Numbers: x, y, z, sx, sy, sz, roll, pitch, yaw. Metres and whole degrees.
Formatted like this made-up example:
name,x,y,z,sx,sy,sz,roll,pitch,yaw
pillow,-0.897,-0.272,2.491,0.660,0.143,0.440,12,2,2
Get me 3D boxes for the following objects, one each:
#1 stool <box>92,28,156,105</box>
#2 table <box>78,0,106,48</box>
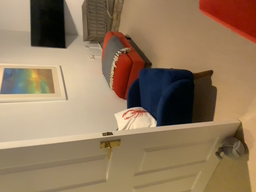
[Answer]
name,x,y,z,sx,sy,sz,roll,pitch,yaw
stool,-0.120,-0.440,2.970,0.970,0.480,0.650,-119,36,-47
table,-0.660,-1.300,3.800,0.480,0.350,0.720,167,100,-66
